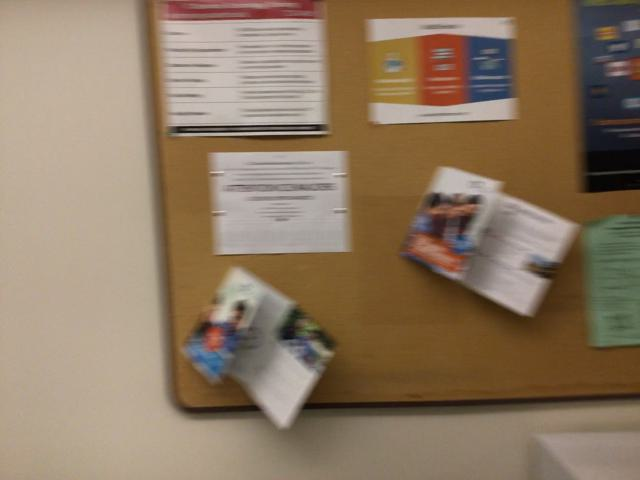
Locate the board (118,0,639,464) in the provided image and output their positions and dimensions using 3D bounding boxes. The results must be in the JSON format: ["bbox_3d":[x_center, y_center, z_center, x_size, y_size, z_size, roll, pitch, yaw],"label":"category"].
[{"bbox_3d":[0.260,-0.060,1.170,1.240,0.950,0.160,-1,4,-1],"label":"board"}]
